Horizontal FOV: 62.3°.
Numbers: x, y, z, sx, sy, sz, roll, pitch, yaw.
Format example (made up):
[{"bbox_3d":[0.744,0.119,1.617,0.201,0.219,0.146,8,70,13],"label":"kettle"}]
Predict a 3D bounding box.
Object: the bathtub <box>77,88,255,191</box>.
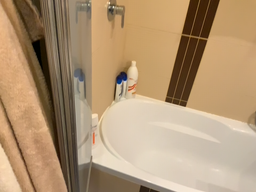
[{"bbox_3d":[0.470,0.550,1.380,1.380,0.630,0.670,15,36,11],"label":"bathtub"}]
